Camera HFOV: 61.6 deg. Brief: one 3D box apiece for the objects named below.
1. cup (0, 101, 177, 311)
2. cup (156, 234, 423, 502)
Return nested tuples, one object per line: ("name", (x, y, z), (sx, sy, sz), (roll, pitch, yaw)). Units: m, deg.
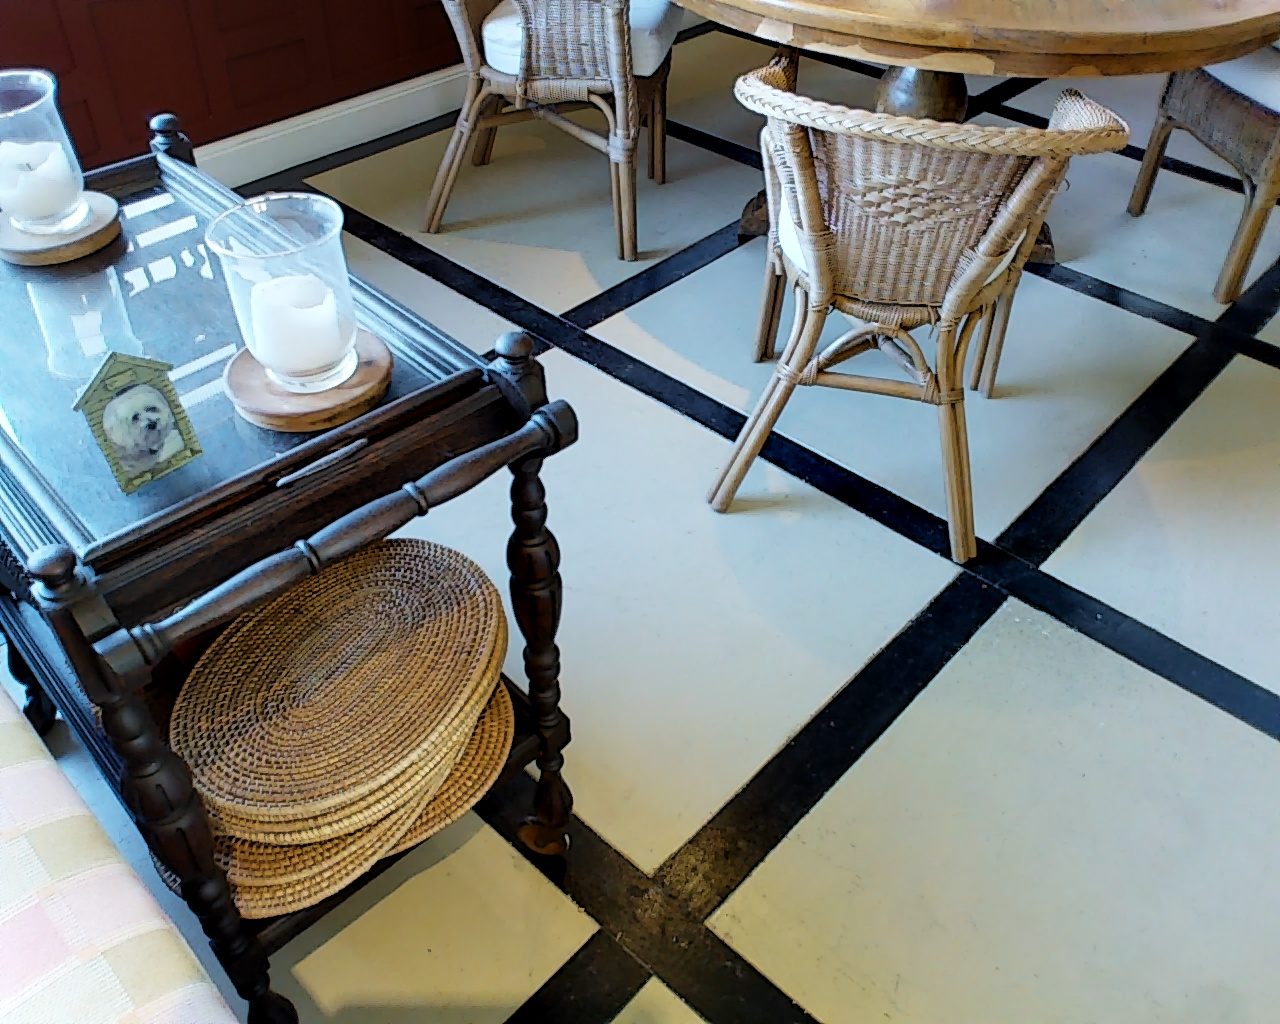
("cup", (-0.630, -0.330, 1.140), (0.190, 0.120, 0.160), (33, 50, 31))
("cup", (-0.300, -0.130, 0.930), (0.140, 0.130, 0.170), (-28, 49, -29))
